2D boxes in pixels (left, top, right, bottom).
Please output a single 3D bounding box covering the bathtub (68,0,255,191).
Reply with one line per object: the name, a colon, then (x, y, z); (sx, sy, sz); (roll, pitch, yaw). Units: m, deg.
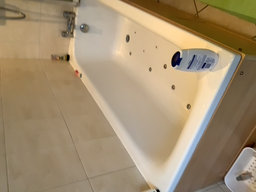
bathtub: (0.090, -0.260, 1.550); (1.670, 0.560, 0.750); (48, 132, 47)
